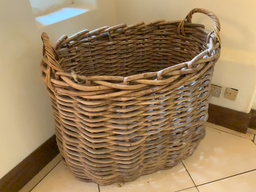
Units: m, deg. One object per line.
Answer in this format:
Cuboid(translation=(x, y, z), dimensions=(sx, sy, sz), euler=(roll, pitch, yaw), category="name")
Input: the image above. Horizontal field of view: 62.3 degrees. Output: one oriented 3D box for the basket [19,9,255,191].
Cuboid(translation=(0.030, -0.010, 1.460), dimensions=(1.150, 0.840, 0.760), euler=(-13, 36, -15), category="basket")
